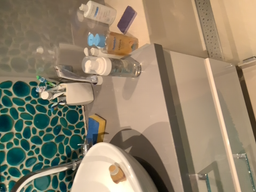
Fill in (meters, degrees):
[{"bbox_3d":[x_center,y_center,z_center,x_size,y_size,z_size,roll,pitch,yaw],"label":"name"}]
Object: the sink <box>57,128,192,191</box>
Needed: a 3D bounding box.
[{"bbox_3d":[-0.010,0.390,0.560,0.390,0.130,0.550,-19,77,44],"label":"sink"}]
